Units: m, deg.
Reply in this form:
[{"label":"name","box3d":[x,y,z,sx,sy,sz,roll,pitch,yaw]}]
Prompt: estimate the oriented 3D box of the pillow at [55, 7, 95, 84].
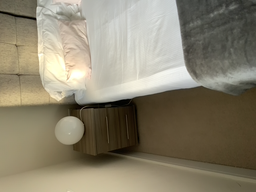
[{"label":"pillow","box3d":[-0.460,-0.430,1.820,0.140,0.250,0.630,150,113,-64]}]
